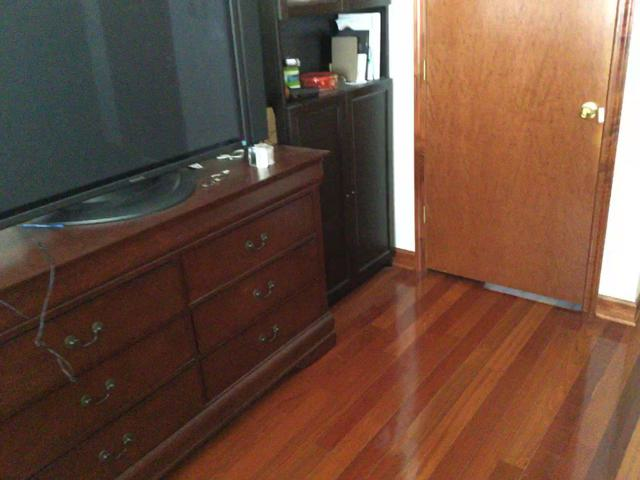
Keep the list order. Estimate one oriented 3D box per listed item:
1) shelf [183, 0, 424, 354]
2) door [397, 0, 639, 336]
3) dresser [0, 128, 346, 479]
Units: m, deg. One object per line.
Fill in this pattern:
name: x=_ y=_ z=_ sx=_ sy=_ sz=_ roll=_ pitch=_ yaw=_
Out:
shelf: x=-0.010 y=-0.630 z=2.550 sx=0.440 sy=1.970 sz=0.950 roll=11 pitch=27 yaw=38
door: x=0.790 y=-0.680 z=2.410 sx=0.990 sy=2.080 sz=0.160 roll=14 pitch=29 yaw=42
dresser: x=-0.580 y=0.250 z=1.940 sx=0.500 sy=0.940 sz=1.450 roll=11 pitch=27 yaw=38
